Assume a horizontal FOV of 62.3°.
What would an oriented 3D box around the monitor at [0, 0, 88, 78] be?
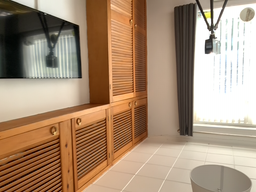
[{"bbox_3d":[-0.640,-0.420,1.790,0.050,0.530,0.980,1,-174,22],"label":"monitor"}]
